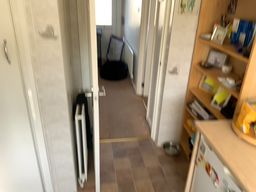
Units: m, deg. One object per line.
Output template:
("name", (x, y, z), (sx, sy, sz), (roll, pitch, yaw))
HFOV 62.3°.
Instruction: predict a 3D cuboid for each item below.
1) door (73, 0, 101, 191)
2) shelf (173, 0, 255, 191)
("door", (-0.340, -0.130, 1.840), (0.120, 2.070, 0.820), (-3, 27, -10))
("shelf", (0.810, -0.140, 1.840), (0.290, 2.030, 0.840), (-2, 27, -8))
